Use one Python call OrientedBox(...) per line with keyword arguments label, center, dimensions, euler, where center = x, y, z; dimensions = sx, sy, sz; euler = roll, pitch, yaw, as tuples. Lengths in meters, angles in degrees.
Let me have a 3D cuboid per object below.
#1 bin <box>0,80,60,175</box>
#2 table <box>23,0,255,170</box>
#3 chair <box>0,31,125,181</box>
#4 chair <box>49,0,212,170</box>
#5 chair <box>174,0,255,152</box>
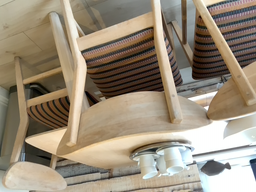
OrientedBox(label="bin", center=(-0.830, 0.280, 1.780), dimensions=(0.280, 0.650, 0.450), euler=(-14, 152, 12))
OrientedBox(label="table", center=(0.390, -0.120, 1.280), dimensions=(1.470, 0.750, 1.000), euler=(-14, 152, 11))
OrientedBox(label="chair", center=(-0.420, 0.110, 1.460), dimensions=(0.570, 0.780, 0.540), euler=(-14, 151, 13))
OrientedBox(label="chair", center=(0.030, -0.130, 1.080), dimensions=(0.530, 0.830, 0.570), euler=(-15, 151, 14))
OrientedBox(label="chair", center=(0.550, -0.270, 0.940), dimensions=(0.520, 0.840, 0.560), euler=(-14, 151, 13))
